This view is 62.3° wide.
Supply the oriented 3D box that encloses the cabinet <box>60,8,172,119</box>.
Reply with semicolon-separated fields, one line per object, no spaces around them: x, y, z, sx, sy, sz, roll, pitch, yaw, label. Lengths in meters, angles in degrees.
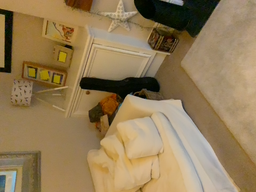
-0.230;-0.300;2.640;1.170;0.960;0.520;-63;35;37;cabinet
